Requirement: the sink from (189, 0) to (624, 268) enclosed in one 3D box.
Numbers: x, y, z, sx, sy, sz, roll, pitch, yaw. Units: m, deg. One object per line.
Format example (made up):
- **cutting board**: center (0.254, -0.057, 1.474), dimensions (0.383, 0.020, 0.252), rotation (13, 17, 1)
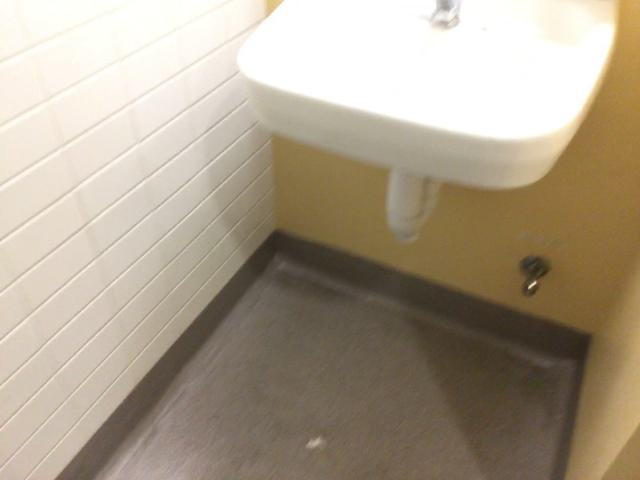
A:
- **sink**: center (0.150, -0.240, 0.940), dimensions (0.560, 0.190, 0.410), rotation (19, 44, 16)
